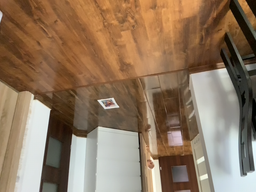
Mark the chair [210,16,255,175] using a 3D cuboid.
[{"bbox_3d":[0.980,-0.030,1.490,0.540,1.030,0.410,-10,152,14],"label":"chair"}]
